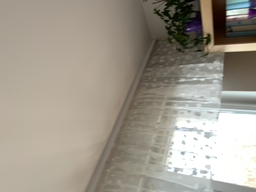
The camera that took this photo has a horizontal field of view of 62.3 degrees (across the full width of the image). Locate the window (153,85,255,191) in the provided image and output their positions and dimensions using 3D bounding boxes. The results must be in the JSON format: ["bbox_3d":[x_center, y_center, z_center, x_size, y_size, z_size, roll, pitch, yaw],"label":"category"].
[{"bbox_3d":[0.920,0.530,1.450,1.470,1.340,0.250,-66,-34,-37],"label":"window"}]
